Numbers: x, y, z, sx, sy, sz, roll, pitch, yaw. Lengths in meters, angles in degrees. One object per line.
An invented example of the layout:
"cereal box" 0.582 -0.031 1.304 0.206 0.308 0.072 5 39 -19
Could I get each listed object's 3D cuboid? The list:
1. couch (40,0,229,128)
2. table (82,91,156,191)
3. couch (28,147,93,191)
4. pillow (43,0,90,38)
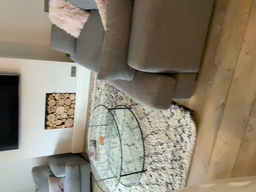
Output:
"couch" -0.290 -0.740 2.240 2.330 0.820 1.160 34 119 54
"table" -0.190 0.580 2.570 1.010 0.320 1.020 33 119 54
"couch" -1.250 1.610 3.820 1.120 0.870 1.060 -1 89 59
"pillow" -0.750 -1.020 2.650 0.210 0.480 0.440 59 159 10
